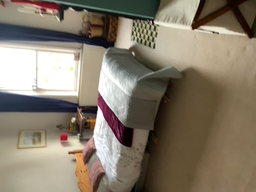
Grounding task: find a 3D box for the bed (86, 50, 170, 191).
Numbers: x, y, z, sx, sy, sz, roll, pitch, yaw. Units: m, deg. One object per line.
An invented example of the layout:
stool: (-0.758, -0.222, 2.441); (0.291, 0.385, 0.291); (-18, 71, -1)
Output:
bed: (-0.180, 0.450, 3.600); (1.500, 0.550, 2.120); (-134, 50, -57)
